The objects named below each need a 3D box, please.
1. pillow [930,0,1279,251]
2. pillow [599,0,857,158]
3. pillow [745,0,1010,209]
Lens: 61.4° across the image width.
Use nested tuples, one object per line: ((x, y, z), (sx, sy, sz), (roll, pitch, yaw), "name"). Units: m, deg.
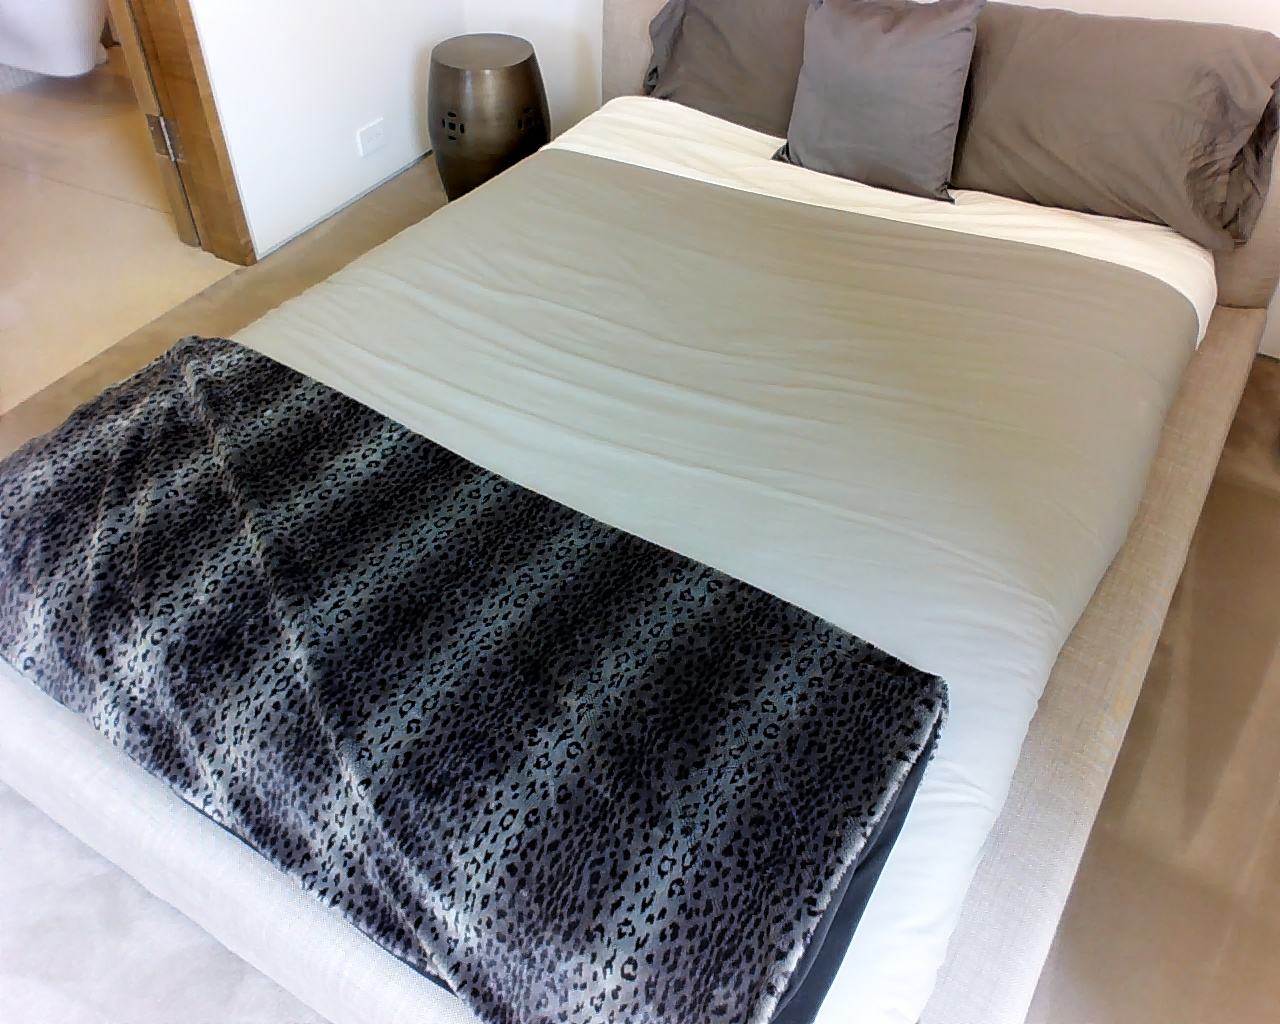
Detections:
((0.990, -0.840, 2.260), (0.620, 0.390, 0.230), (22, 34, 22), "pillow")
((0.210, -1.140, 2.680), (0.520, 0.380, 0.230), (23, 23, 24), "pillow")
((0.520, -0.950, 2.380), (0.450, 0.410, 0.280), (17, 31, 15), "pillow")
